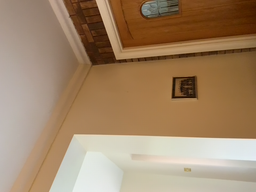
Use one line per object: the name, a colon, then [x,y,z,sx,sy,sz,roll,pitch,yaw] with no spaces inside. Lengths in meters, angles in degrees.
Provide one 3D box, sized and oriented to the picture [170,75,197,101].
picture: [0.510,-0.080,1.940,0.310,0.230,0.030,-75,-24,-43]
